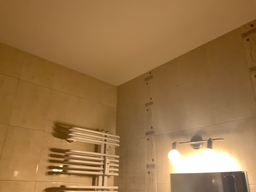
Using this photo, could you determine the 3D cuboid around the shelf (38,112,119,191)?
[{"bbox_3d":[-0.370,0.730,1.600,0.530,1.100,0.250,19,-28,-37],"label":"shelf"}]
